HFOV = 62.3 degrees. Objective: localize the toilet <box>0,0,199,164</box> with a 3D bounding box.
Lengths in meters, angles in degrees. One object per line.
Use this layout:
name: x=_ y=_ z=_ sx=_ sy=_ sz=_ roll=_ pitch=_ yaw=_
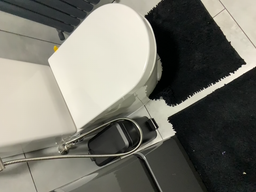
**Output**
toilet: x=-0.190 y=-0.090 z=0.890 sx=0.650 sy=0.830 sz=0.390 roll=-36 pitch=73 yaw=27
